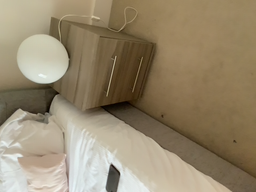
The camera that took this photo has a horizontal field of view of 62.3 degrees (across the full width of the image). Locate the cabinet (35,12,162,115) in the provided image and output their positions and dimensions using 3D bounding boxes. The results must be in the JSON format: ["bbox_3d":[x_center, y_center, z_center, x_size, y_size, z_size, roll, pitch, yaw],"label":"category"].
[{"bbox_3d":[-0.200,-0.230,1.360,0.560,0.510,0.420,27,113,36],"label":"cabinet"}]
